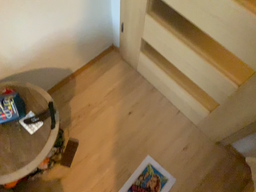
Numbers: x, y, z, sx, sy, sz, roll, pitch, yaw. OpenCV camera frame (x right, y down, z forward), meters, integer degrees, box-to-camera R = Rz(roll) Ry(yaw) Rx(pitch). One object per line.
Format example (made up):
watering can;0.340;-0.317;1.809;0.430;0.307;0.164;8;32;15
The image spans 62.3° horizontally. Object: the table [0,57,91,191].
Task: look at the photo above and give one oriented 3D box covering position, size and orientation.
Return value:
table;-0.540;0.200;1.070;0.460;0.420;0.470;-40;73;-19
